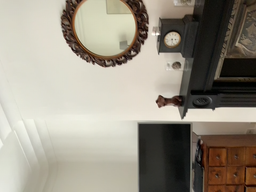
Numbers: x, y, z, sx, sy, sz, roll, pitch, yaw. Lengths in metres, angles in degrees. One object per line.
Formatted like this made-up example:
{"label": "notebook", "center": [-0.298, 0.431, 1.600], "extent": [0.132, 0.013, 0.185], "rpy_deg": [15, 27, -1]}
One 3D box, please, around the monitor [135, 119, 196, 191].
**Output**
{"label": "monitor", "center": [0.390, 0.730, 2.250], "extent": [0.070, 0.610, 0.950], "rpy_deg": [-63, -26, -89]}
